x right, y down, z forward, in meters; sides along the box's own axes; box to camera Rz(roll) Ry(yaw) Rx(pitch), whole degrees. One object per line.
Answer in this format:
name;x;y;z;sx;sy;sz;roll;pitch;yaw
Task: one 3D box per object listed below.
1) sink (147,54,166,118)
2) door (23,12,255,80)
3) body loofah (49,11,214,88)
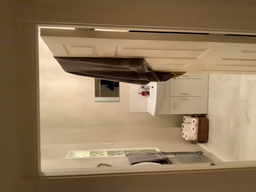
sink;0.420;-0.150;3.220;0.500;0.150;0.890;-153;63;-81
door;0.420;-0.290;1.610;0.860;2.010;0.130;131;139;-78
body loofah;0.020;-0.340;1.780;0.460;1.190;0.460;129;140;-77
